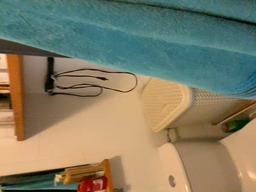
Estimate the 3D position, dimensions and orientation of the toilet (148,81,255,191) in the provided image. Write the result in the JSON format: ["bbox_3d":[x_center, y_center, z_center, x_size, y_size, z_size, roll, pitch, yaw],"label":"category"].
[{"bbox_3d":[0.650,0.280,0.990,0.690,0.820,0.370,127,135,-53],"label":"toilet"}]
